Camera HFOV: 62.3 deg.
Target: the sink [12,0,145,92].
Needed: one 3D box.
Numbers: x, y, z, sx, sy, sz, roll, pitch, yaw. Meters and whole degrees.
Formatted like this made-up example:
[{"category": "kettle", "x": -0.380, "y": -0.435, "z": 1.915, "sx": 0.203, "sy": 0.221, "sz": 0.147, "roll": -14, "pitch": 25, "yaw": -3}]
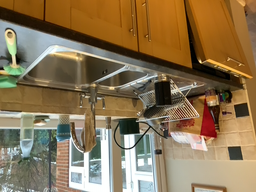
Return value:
[{"category": "sink", "x": -0.260, "y": -0.210, "z": 1.030, "sx": 0.420, "sy": 0.230, "sz": 0.520, "roll": 7, "pitch": 164, "yaw": -40}]
